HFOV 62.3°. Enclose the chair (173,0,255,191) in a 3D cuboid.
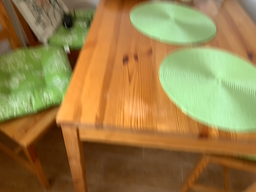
[{"bbox_3d":[0.550,0.150,0.930,0.480,0.890,0.420,11,45,3],"label":"chair"}]
